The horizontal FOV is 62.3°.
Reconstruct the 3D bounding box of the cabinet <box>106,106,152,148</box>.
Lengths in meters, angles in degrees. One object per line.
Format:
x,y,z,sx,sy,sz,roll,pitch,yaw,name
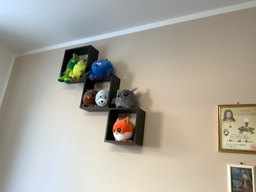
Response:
0.010,0.210,1.450,0.260,0.250,0.130,-3,-20,29,cabinet

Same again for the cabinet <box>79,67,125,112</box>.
-0.200,-0.040,1.660,0.290,0.310,0.130,-3,-20,29,cabinet

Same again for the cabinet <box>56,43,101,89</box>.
-0.440,-0.260,1.890,0.350,0.340,0.120,-5,-21,32,cabinet
